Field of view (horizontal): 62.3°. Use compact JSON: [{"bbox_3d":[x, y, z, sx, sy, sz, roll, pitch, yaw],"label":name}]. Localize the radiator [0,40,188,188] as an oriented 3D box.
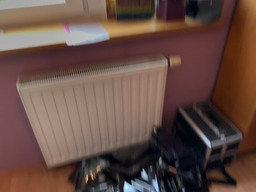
[{"bbox_3d":[-0.140,0.120,1.270,0.910,0.750,0.170,-13,38,-16],"label":"radiator"}]
